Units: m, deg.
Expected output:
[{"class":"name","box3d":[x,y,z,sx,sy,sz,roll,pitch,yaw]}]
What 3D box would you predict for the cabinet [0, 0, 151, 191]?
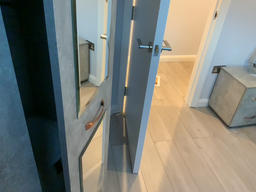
[{"class":"cabinet","box3d":[-0.430,0.070,0.660,0.620,1.880,0.780,23,39,23]}]
